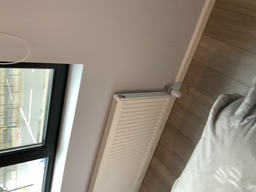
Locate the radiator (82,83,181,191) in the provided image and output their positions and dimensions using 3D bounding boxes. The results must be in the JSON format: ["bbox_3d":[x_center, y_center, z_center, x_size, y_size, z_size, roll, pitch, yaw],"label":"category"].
[{"bbox_3d":[-0.030,0.490,1.770,0.090,0.550,1.310,46,127,42],"label":"radiator"}]
